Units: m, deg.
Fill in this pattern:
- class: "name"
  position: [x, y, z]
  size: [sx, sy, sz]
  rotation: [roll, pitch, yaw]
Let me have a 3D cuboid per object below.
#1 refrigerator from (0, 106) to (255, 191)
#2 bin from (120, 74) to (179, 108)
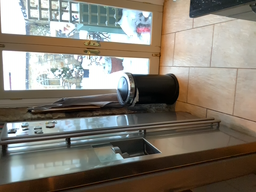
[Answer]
- class: "refrigerator"
  position: [0.020, 0.610, 1.660]
  size: [0.950, 1.790, 0.810]
  rotation: [-160, 70, -64]
- class: "bin"
  position: [0.250, -0.070, 2.510]
  size: [0.270, 0.630, 0.340]
  rotation: [-154, 65, -63]
